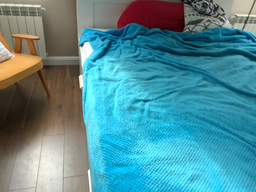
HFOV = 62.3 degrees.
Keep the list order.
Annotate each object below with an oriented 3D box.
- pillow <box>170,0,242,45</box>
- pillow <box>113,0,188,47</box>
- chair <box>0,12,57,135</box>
[{"bbox_3d":[0.730,-0.780,2.030,0.460,0.280,0.410,13,41,-26],"label":"pillow"},{"bbox_3d":[0.200,-0.760,1.990,0.600,0.320,0.160,-26,22,10],"label":"pillow"},{"bbox_3d":[-1.100,-0.240,1.750,0.670,0.700,0.630,16,36,13],"label":"chair"}]
